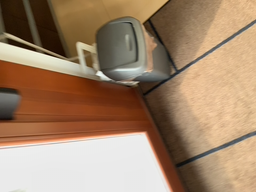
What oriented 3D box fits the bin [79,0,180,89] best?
[{"bbox_3d":[0.030,-0.270,1.240,0.280,0.520,0.330,-22,73,31],"label":"bin"}]
